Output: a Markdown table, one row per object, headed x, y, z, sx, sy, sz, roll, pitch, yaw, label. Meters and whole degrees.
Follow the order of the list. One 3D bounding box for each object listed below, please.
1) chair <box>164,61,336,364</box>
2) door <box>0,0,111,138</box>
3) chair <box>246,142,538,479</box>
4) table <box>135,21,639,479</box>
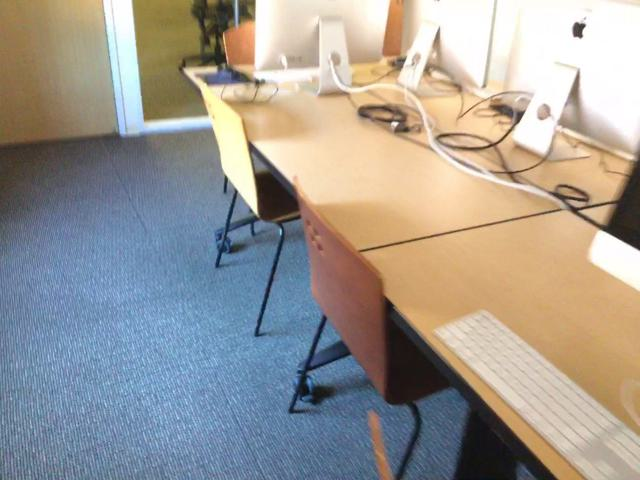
| x | y | z | sx | sy | sz | roll | pitch | yaw | label |
| --- | --- | --- | --- | --- | --- | --- | --- | --- | --- |
| -0.250 | -0.100 | 1.950 | 0.370 | 0.860 | 0.460 | -12 | 34 | -25 | chair |
| -1.620 | -0.990 | 2.990 | 0.910 | 0.910 | 0.110 | -12 | 34 | -25 | door |
| 0.080 | 0.250 | 1.280 | 0.320 | 0.760 | 0.510 | -12 | 34 | -25 | chair |
| 0.830 | 0.480 | 1.060 | 1.310 | 0.860 | 4.210 | -12 | 34 | -25 | table |
